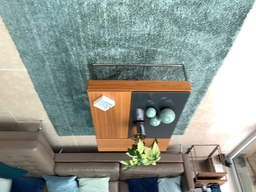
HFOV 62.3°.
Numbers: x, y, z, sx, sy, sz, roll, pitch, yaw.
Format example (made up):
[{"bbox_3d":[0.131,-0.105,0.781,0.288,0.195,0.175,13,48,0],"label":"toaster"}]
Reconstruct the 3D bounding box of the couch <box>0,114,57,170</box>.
[{"bbox_3d":[-1.470,0.590,2.610,0.940,0.420,0.720,0,144,-3],"label":"couch"}]

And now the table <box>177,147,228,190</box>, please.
[{"bbox_3d":[1.160,1.180,3.440,0.530,0.500,0.600,1,143,-3],"label":"table"}]
